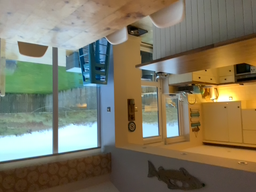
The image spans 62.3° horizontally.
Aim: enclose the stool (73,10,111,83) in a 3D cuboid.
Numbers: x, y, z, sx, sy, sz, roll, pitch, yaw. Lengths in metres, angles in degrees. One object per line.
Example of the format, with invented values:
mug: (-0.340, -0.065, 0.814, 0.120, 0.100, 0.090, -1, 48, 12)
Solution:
stool: (-0.570, -0.730, 3.320, 0.430, 1.000, 0.390, 1, 176, -42)
